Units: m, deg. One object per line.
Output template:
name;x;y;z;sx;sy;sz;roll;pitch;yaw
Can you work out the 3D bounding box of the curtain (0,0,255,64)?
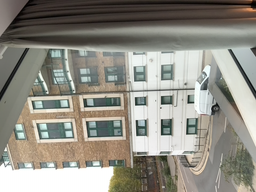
curtain;0.380;-0.530;1.430;0.180;2.430;0.580;86;-178;-50
